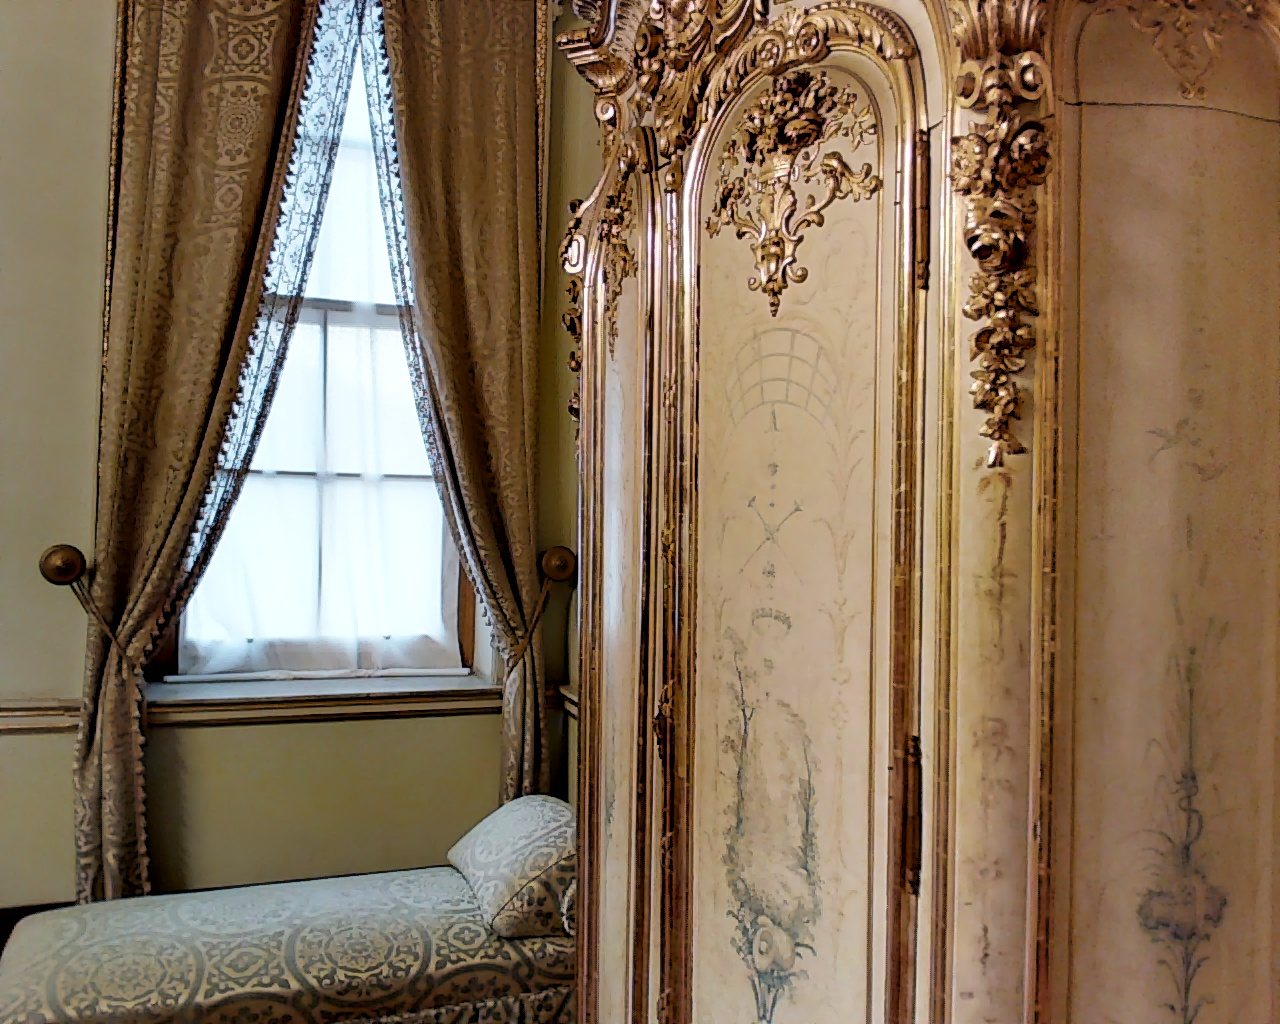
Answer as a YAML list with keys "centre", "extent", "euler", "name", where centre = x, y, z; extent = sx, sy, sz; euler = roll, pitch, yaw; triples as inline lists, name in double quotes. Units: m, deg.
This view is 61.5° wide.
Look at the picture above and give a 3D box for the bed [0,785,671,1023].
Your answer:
- centre: [-0.880, 1.321, 3.250]
  extent: [1.759, 0.690, 0.780]
  euler: [2, 0, -21]
  name: "bed"
